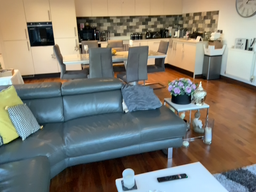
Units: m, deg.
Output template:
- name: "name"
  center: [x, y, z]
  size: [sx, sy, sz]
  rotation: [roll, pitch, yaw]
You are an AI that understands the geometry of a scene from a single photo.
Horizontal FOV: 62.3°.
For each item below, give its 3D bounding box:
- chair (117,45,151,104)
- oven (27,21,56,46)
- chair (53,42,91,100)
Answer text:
- name: "chair"
  center: [0.100, -0.430, 3.990]
  size: [0.430, 0.960, 0.600]
  rotation: [-8, 20, -18]
- name: "oven"
  center: [-2.290, -1.690, 5.680]
  size: [0.600, 0.590, 0.610]
  rotation: [-7, 20, -15]
- name: "chair"
  center: [-1.090, -0.520, 4.220]
  size: [0.590, 1.040, 0.440]
  rotation: [-6, 19, -12]
